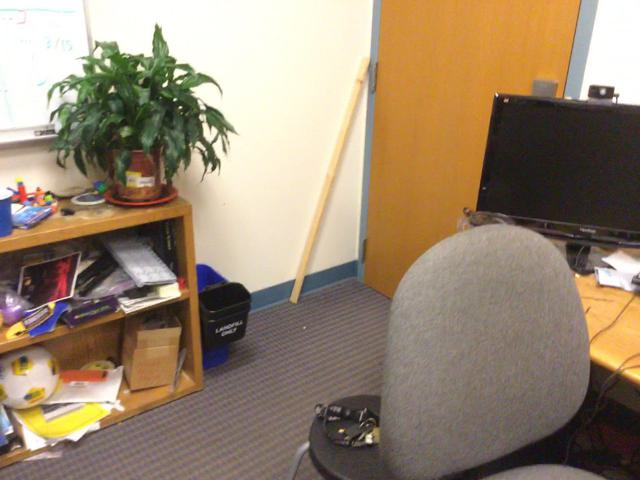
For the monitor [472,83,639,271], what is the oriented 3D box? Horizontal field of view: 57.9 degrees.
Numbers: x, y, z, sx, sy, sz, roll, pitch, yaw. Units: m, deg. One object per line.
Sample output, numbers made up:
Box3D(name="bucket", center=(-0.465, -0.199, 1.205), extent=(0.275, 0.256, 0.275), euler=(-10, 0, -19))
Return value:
Box3D(name="monitor", center=(0.700, -0.170, 1.460), extent=(0.530, 0.390, 0.240), euler=(12, 23, 26))
